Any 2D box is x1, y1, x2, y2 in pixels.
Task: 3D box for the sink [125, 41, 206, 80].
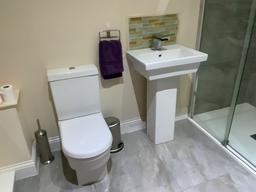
[{"bbox_3d":[0.310,-0.330,1.860,0.560,0.160,0.400,-11,29,-17],"label":"sink"}]
